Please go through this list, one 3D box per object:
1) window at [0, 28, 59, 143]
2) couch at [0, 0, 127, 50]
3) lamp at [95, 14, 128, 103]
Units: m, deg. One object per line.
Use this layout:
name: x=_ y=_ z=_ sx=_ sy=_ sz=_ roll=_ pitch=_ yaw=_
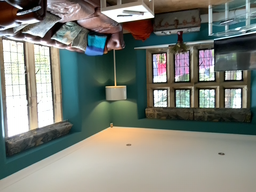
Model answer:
window: x=-1.670 y=-0.180 z=3.600 sx=0.210 sy=1.650 sz=1.110 roll=0 pitch=-175 yaw=20
couch: x=-0.880 y=-1.220 z=3.150 sx=0.950 sy=0.740 sz=2.250 roll=0 pitch=-175 yaw=21
lamp: x=-0.390 y=-0.840 z=4.980 sx=0.450 sy=1.910 sz=0.600 roll=-5 pitch=-174 yaw=-34
